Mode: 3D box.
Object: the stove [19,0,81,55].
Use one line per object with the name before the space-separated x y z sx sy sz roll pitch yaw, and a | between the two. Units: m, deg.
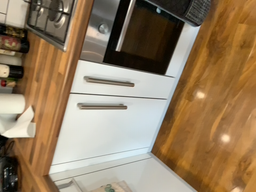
stove | -0.340 -0.550 0.950 0.580 0.020 0.590 32 110 42
